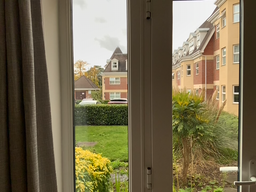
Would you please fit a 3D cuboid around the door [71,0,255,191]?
[{"bbox_3d":[0.700,0.400,1.120,1.980,2.320,0.110,0,2,4],"label":"door"}]
